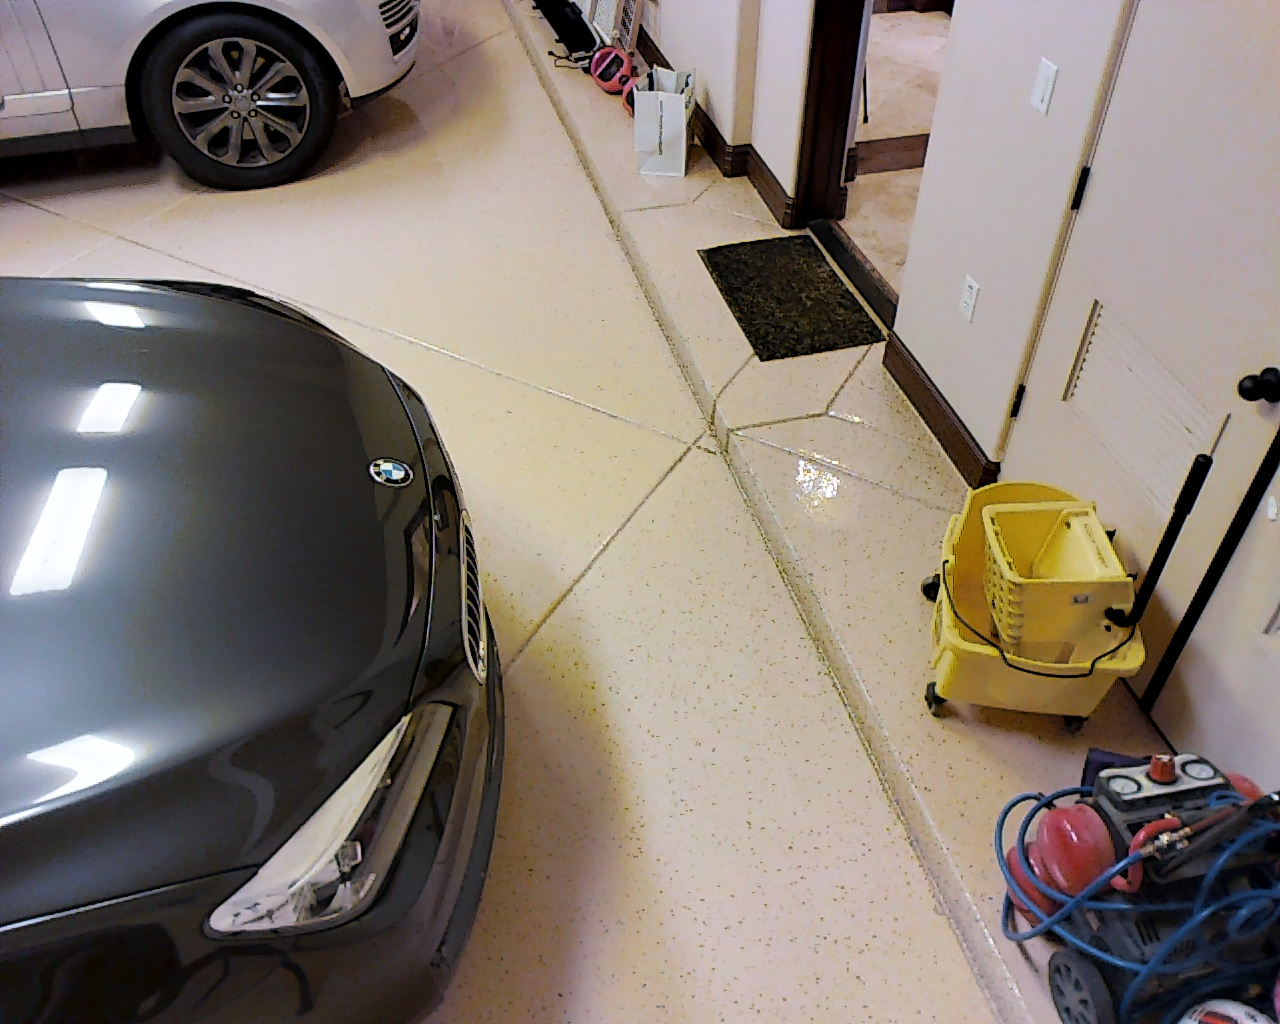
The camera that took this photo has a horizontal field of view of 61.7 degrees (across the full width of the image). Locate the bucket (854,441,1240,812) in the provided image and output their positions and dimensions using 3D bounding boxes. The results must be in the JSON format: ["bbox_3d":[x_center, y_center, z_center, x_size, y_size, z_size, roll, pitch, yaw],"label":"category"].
[{"bbox_3d":[0.860,0.250,2.430,0.520,0.520,0.570,-7,43,-7],"label":"bucket"}]
